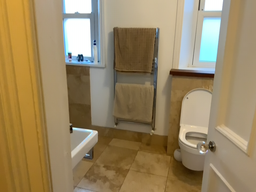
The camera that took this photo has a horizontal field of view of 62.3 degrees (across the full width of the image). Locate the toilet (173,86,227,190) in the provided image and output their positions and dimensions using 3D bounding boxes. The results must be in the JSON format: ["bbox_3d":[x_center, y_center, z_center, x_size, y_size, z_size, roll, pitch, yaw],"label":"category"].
[{"bbox_3d":[0.690,0.380,2.140,0.370,0.830,0.560,5,17,14],"label":"toilet"}]
